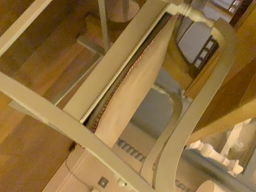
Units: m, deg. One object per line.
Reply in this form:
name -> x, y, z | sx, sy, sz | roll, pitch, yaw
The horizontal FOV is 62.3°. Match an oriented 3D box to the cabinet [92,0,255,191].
cabinet -> 1.190, 0.000, 2.210 | 1.790, 2.460, 0.530 | -54, 171, -14
